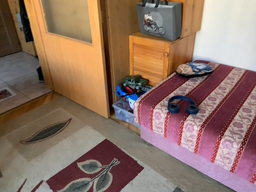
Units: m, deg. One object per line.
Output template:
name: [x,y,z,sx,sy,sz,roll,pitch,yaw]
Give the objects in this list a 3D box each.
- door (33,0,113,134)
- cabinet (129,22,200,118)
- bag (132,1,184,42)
door: [-0.500,-0.720,1.660,0.820,2.150,0.100,25,41,35]
cabinet: [0.320,-0.260,1.980,0.400,0.700,0.470,24,40,34]
bag: [0.220,-0.590,1.650,0.370,0.230,0.140,25,40,35]
